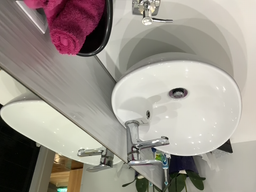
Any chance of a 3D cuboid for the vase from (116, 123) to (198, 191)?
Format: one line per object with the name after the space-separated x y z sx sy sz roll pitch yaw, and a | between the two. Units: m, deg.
0.150 0.500 1.030 0.360 0.650 0.230 -11 143 17 | vase
